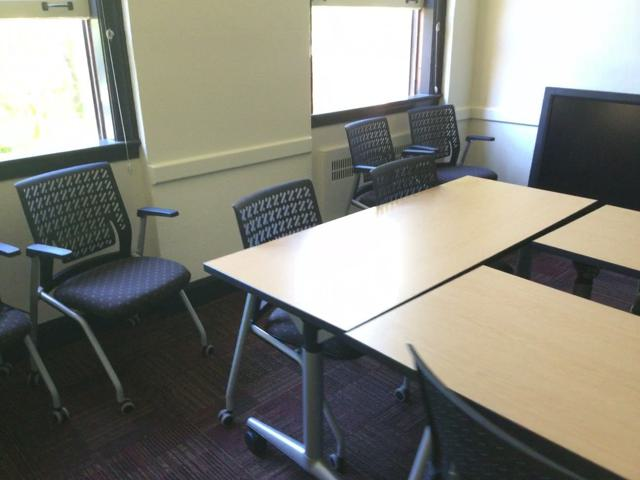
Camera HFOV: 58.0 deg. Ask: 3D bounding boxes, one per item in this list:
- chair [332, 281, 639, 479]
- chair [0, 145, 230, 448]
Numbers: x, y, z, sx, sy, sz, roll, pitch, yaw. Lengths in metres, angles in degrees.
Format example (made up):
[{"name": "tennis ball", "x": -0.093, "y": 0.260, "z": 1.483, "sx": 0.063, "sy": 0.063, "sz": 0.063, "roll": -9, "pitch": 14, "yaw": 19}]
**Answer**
[{"name": "chair", "x": 0.430, "y": 0.610, "z": 1.150, "sx": 0.550, "sy": 0.770, "sz": 0.640, "roll": -13, "pitch": 24, "yaw": -27}, {"name": "chair", "x": -0.810, "y": 0.160, "z": 2.250, "sx": 0.560, "sy": 0.900, "sz": 0.640, "roll": 10, "pitch": 24, "yaw": 28}]
